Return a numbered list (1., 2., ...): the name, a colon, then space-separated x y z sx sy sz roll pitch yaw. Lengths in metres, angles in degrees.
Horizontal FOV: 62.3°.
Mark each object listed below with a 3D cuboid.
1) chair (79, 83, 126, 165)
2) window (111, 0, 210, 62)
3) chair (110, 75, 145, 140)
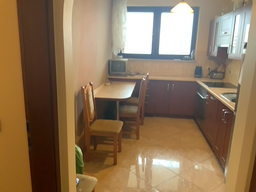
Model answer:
1. chair: -0.320 0.350 2.790 0.500 0.950 0.420 4 14 6
2. window: 0.660 -1.440 4.730 2.030 1.220 0.330 3 14 5
3. chair: 0.000 0.170 3.520 0.520 0.980 0.390 3 14 4
